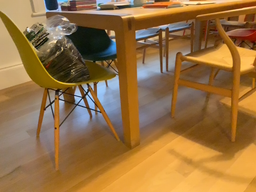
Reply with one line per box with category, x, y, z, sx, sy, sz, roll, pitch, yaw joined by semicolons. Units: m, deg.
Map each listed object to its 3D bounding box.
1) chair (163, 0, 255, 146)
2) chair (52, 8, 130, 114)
chair;0.630;-0.220;1.390;0.580;0.800;0.500;-13;28;-21
chair;-0.290;-0.320;1.770;0.400;0.730;0.440;-20;31;-32
